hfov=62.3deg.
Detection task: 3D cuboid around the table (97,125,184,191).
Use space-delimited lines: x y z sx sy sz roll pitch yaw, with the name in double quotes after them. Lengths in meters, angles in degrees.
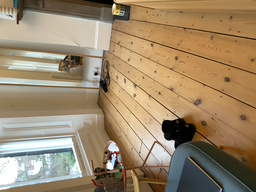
0.070 0.600 1.810 0.490 0.490 0.490 -132 48 -55 "table"
